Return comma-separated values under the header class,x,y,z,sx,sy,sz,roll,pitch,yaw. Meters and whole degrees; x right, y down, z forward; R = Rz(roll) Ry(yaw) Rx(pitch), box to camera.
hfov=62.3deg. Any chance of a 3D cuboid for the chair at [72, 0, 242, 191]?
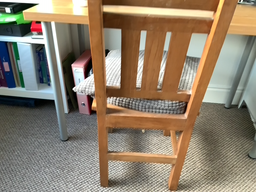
class,x,y,z,sx,sy,sz,roll,pitch,yaw
chair,0.060,-0.040,0.940,0.420,0.850,0.480,2,33,0
